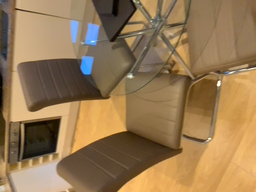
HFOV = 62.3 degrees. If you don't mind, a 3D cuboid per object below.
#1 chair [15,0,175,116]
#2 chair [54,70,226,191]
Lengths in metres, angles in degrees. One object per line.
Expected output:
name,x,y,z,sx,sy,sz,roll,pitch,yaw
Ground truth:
chair,-0.230,-0.250,1.640,0.540,1.000,0.470,-46,60,41
chair,0.130,0.140,1.280,0.420,1.000,0.560,11,102,48
